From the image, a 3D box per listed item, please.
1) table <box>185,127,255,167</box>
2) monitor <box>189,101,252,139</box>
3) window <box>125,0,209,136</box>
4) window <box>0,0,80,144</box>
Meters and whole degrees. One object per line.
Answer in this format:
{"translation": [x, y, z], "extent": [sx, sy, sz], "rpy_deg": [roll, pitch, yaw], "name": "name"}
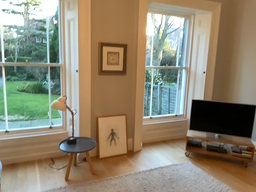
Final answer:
{"translation": [1.530, 0.830, 3.550], "extent": [1.050, 0.380, 0.320], "rpy_deg": [6, 11, 19], "name": "table"}
{"translation": [1.480, 0.380, 3.450], "extent": [0.880, 0.540, 0.030], "rpy_deg": [5, 11, 16], "name": "monitor"}
{"translation": [0.720, -0.550, 4.060], "extent": [1.430, 2.440, 0.450], "rpy_deg": [-2, 11, -23], "name": "window"}
{"translation": [-1.430, -0.500, 3.110], "extent": [1.370, 2.280, 0.410], "rpy_deg": [-2, 11, -22], "name": "window"}
